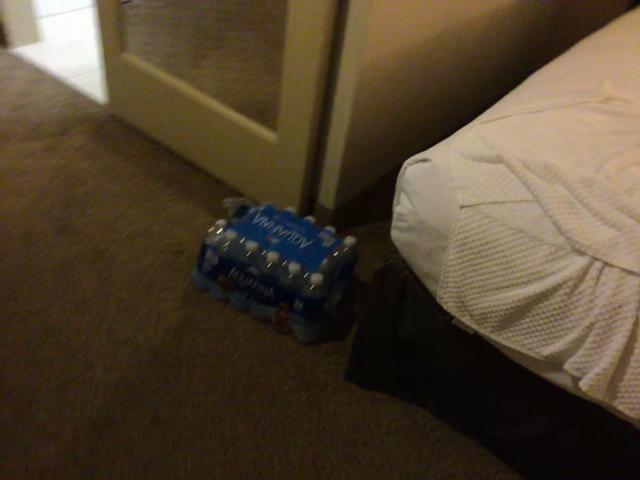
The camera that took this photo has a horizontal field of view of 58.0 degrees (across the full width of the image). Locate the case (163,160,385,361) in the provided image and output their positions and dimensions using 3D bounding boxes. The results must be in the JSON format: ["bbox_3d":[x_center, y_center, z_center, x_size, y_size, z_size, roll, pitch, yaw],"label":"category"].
[{"bbox_3d":[-0.130,0.030,1.550,0.470,0.220,0.330,31,43,26],"label":"case"}]
